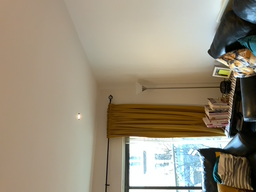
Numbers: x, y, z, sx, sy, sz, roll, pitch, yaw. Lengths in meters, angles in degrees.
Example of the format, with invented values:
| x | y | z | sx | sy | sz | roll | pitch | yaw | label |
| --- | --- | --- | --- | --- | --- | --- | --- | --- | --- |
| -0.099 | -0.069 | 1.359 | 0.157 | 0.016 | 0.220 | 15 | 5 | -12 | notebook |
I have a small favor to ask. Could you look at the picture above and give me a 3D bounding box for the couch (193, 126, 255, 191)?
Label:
| x | y | z | sx | sy | sz | roll | pitch | yaw | label |
| --- | --- | --- | --- | --- | --- | --- | --- | --- | --- |
| 1.420 | 1.190 | 2.500 | 0.910 | 0.900 | 1.450 | 82 | -173 | -66 | couch |
